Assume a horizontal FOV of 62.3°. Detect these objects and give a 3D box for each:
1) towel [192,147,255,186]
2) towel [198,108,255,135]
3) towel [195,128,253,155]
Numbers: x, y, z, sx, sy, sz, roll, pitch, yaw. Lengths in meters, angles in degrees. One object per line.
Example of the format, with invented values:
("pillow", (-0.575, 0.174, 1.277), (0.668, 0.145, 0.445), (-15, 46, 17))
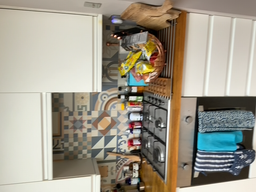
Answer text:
("towel", (0.660, 0.450, 1.380), (0.090, 0.480, 0.180), (-158, 69, -73))
("towel", (0.640, 0.160, 1.360), (0.050, 0.390, 0.150), (-153, 64, -72))
("towel", (0.600, 0.280, 1.330), (0.100, 0.340, 0.120), (-158, 69, -73))
